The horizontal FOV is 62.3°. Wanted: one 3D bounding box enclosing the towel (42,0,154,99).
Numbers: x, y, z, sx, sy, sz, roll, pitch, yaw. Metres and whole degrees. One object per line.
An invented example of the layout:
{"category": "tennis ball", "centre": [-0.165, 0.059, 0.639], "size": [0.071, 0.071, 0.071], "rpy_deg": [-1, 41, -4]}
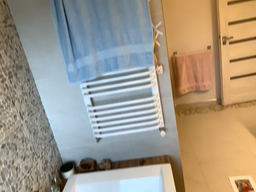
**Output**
{"category": "towel", "centre": [-0.190, -0.520, 1.310], "size": [0.560, 1.010, 0.210], "rpy_deg": [-8, 19, 8]}

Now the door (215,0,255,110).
{"category": "door", "centre": [1.740, -0.770, 3.280], "size": [0.680, 2.030, 0.120], "rpy_deg": [-8, 19, 7]}

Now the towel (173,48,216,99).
{"category": "towel", "centre": [1.090, -0.360, 3.480], "size": [0.600, 0.740, 0.160], "rpy_deg": [-9, 19, 5]}
